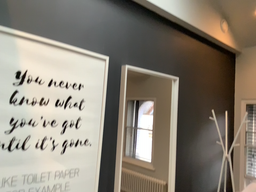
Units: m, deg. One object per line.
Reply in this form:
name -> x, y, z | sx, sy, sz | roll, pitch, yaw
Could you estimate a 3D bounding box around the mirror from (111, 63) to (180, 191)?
mirror -> 0.170, 0.560, 1.780 | 0.680, 1.560, 0.070 | 6, -5, -39
